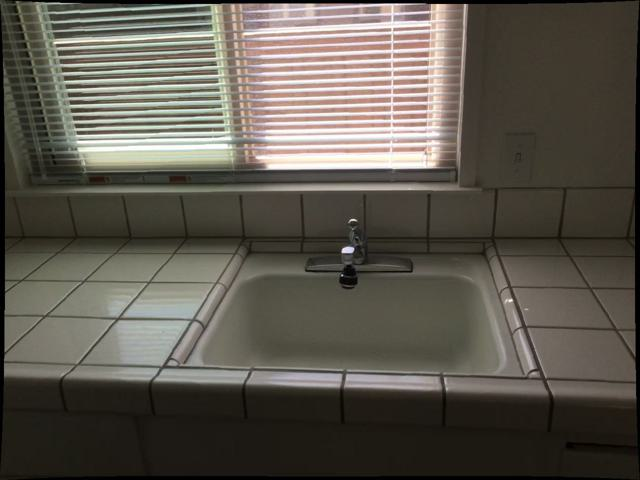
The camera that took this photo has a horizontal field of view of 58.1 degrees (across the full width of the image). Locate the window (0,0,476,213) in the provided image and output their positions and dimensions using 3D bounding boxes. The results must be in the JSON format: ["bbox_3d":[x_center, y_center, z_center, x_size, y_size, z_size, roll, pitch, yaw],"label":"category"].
[{"bbox_3d":[-0.240,-0.641,1.300,1.148,1.121,0.220,3,27,8],"label":"window"}]
